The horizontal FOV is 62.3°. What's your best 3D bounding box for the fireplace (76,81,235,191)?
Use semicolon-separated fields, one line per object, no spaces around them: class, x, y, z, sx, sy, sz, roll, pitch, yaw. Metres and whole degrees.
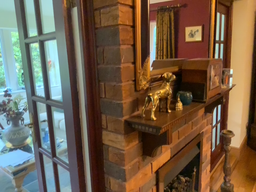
fireplace;0.310;0.580;1.510;0.480;1.210;1.190;8;15;38
